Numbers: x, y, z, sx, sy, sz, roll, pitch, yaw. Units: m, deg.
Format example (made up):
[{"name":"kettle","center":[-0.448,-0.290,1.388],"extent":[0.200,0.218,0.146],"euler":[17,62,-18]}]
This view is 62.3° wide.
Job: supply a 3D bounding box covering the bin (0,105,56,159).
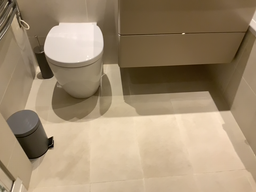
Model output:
[{"name":"bin","center":[-0.570,0.210,1.230],"extent":[0.210,0.260,0.190],"euler":[-1,46,-4]}]
